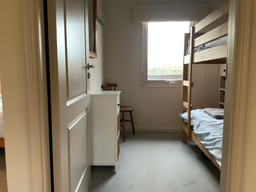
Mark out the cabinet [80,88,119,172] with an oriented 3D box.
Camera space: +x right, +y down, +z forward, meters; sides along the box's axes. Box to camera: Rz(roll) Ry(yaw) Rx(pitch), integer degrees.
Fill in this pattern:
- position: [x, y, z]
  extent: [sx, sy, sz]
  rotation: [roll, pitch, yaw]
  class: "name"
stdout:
- position: [-0.280, 0.330, 2.230]
  extent: [0.330, 0.790, 0.370]
  rotation: [1, 7, 3]
  class: "cabinet"
